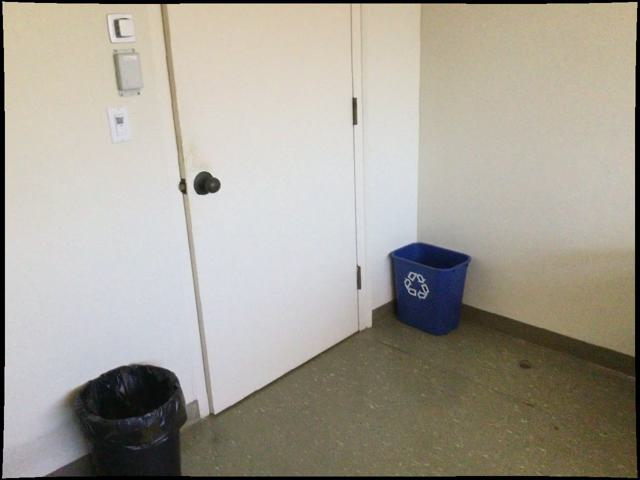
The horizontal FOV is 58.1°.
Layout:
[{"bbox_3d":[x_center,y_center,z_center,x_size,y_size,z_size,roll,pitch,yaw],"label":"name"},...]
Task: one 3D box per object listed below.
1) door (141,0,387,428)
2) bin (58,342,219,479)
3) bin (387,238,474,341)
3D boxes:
[{"bbox_3d":[-0.120,-0.251,2.390,1.049,1.814,0.110,-22,27,-40],"label":"door"},{"bbox_3d":[-0.608,0.642,1.960,0.340,0.391,0.350,-22,27,-40],"label":"bin"},{"bbox_3d":[0.559,0.241,2.930,0.250,0.381,0.340,-22,27,-40],"label":"bin"}]
